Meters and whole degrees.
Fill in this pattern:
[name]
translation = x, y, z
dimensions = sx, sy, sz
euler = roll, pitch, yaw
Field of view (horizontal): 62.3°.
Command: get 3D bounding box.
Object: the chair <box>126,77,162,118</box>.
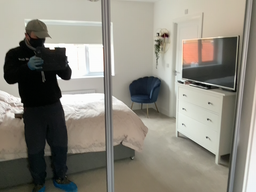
[chair]
translation = 0.350, 0.010, 4.990
dimensions = 0.750, 0.830, 0.730
euler = 0, 13, -2
